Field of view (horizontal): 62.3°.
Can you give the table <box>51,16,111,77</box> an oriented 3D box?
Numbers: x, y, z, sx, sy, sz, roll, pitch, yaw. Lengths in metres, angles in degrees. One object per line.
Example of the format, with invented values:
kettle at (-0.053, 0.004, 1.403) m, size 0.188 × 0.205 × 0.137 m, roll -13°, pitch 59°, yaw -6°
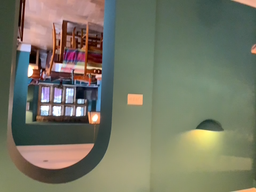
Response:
table at (-1.100, -0.940, 4.580) m, size 0.950 × 0.800 × 1.690 m, roll 2°, pitch 178°, yaw -23°
